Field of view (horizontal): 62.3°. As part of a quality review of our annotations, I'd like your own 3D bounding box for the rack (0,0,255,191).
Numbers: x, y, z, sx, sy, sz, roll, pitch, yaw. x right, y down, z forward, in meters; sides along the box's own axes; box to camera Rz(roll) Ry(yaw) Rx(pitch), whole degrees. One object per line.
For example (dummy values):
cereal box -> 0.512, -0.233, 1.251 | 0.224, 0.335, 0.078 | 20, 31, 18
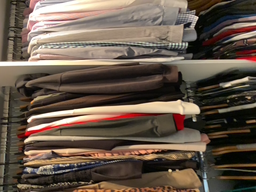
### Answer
rack -> 0.280, -0.460, 1.250 | 0.520, 2.020, 2.220 | 123, 144, -71
